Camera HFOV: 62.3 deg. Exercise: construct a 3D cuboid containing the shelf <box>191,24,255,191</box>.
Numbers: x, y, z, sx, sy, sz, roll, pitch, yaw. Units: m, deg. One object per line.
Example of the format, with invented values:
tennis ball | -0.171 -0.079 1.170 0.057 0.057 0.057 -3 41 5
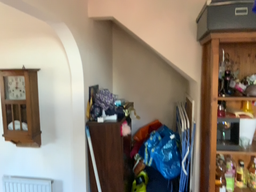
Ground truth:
shelf | 0.910 0.550 1.430 0.880 1.930 0.440 2 6 12
